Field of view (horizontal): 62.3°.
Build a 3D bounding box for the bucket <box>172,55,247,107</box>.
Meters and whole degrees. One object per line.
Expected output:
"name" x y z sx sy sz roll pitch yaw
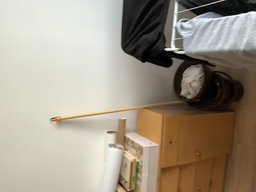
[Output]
"bucket" 0.620 -0.120 1.660 0.390 0.340 0.340 14 102 60
